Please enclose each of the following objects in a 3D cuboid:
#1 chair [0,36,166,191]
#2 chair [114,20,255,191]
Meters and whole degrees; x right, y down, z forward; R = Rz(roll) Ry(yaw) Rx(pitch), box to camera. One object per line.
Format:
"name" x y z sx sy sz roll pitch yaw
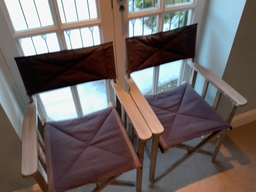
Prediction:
"chair" -0.230 0.240 1.220 0.600 0.890 0.560 -16 43 -16
"chair" 0.290 0.090 1.380 0.550 0.890 0.560 -16 43 -16
